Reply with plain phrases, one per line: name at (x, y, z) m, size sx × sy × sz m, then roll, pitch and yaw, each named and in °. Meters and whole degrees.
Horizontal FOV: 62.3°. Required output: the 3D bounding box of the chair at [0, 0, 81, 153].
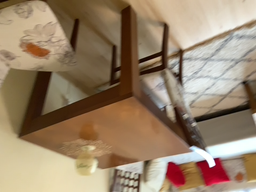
chair at (-0.600, -0.230, 1.190) m, size 0.560 × 0.960 × 0.390 m, roll 5°, pitch 146°, yaw -9°

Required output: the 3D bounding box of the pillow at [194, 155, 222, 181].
pillow at (1.090, 0.990, 2.910) m, size 0.300 × 0.300 × 0.100 m, roll -14°, pitch 162°, yaw 21°
